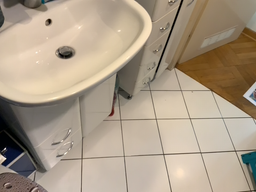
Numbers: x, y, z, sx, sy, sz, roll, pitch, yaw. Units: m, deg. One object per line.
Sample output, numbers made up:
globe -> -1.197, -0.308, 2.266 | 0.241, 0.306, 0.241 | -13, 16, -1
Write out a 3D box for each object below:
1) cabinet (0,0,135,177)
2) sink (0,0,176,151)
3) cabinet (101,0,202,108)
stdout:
cabinet -> -0.300, 0.000, 1.050 | 0.260, 0.760, 0.550 | 38, 57, 16
sink -> -0.180, -0.180, 0.690 | 0.410, 0.130, 0.570 | 38, 57, 16
cabinet -> 0.140, -0.400, 1.340 | 0.290, 0.870, 0.540 | 38, 57, 16
